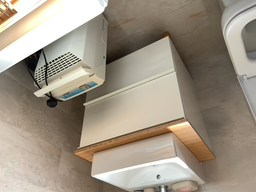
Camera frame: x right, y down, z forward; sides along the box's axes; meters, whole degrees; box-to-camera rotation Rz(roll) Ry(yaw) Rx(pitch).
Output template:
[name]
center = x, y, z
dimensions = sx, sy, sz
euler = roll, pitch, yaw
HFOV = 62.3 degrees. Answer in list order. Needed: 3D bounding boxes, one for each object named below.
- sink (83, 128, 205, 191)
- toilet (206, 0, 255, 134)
[sink]
center = 0.100, 0.380, 1.130
dimensions = 0.470, 0.130, 0.460
euler = -20, 139, 24
[toilet]
center = 0.700, -0.220, 1.030
dimensions = 0.370, 0.810, 0.610
euler = -20, 139, 24
